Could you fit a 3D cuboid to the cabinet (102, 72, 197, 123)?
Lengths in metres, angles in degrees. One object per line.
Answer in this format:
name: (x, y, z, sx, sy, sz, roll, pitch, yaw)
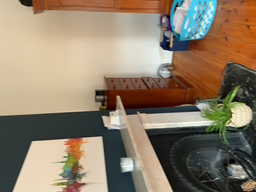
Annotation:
cabinet: (0.260, -0.010, 2.960, 0.520, 1.180, 0.510, -118, 28, -65)
